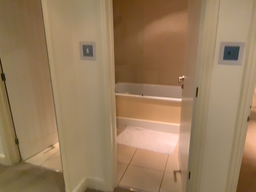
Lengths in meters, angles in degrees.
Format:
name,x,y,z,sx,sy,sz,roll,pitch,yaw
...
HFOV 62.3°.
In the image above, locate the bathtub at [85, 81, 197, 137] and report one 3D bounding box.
name,x,y,z,sx,sy,sz,roll,pitch,yaw
bathtub,0.240,0.150,3.490,1.670,0.550,0.730,5,19,17
